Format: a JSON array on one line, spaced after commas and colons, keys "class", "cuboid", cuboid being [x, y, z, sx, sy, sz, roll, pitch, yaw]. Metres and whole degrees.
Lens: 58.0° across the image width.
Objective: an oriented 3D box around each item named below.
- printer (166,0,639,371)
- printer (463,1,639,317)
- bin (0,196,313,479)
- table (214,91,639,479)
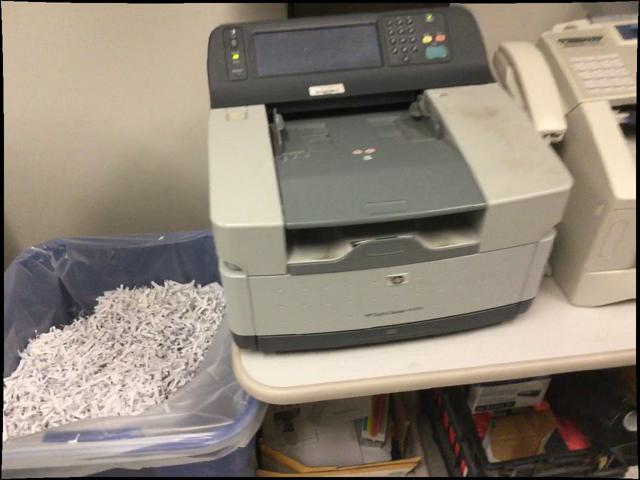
[{"class": "printer", "cuboid": [0.080, -0.150, 0.930, 0.549, 0.350, 0.530, -7, 41, -5]}, {"class": "printer", "cuboid": [0.519, -0.150, 0.910, 0.439, 0.320, 0.360, -7, 41, -5]}, {"class": "bin", "cuboid": [-0.359, 0.341, 1.270, 0.619, 0.581, 0.571, -7, 41, -5]}, {"class": "table", "cuboid": [0.609, 0.180, 1.290, 1.566, 0.711, 0.731, -7, 41, -5]}]
